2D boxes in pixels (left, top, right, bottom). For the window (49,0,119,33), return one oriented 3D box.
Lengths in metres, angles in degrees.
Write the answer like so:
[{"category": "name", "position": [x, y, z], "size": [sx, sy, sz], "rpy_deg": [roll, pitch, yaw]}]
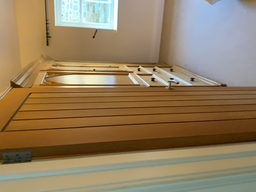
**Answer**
[{"category": "window", "position": [-0.790, -1.810, 3.820], "size": [0.530, 1.170, 1.200], "rpy_deg": [-127, 39, -66]}]
